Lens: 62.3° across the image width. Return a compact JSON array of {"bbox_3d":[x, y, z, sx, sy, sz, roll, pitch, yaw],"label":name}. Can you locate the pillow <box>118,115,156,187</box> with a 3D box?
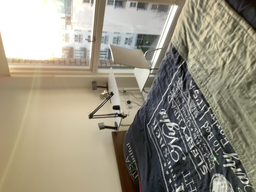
[{"bbox_3d":[0.070,0.580,2.280,0.390,0.190,0.630,108,155,-48],"label":"pillow"}]

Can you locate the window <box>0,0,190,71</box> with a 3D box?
[{"bbox_3d":[-0.510,-0.790,2.720,1.050,2.380,0.230,107,155,-47],"label":"window"}]
